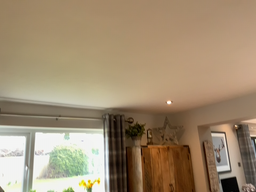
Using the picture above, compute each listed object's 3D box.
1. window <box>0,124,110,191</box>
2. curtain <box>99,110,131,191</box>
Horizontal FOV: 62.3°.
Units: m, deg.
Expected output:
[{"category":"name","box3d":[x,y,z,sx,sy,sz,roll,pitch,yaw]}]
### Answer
[{"category":"window","box3d":[-0.980,0.870,2.640,1.560,0.960,0.230,7,-19,-32]},{"category":"curtain","box3d":[-0.160,1.350,2.730,0.350,2.320,0.210,8,-19,-34]}]
